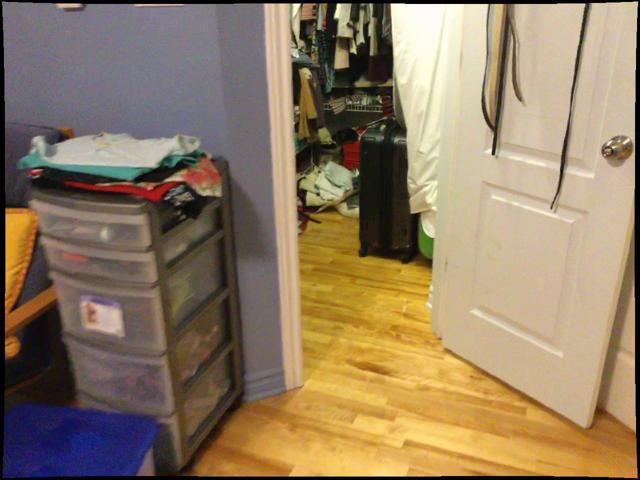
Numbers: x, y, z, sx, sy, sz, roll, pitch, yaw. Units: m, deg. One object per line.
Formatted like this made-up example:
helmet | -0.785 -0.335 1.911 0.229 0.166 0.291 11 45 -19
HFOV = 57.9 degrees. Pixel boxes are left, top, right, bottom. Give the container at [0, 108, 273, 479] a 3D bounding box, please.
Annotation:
container | -0.499 0.150 1.720 0.500 0.961 0.450 8 27 22

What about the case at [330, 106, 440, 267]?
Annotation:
case | 0.340 -0.290 2.930 0.390 0.641 0.520 8 27 22
